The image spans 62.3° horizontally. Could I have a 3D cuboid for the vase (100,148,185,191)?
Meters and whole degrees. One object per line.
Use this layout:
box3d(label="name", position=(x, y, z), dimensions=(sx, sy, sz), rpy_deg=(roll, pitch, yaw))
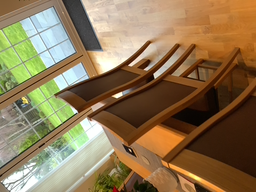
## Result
box3d(label="vase", position=(0.110, 0.690, 1.460), dimensions=(0.320, 0.460, 0.330), rpy_deg=(21, 141, 47))

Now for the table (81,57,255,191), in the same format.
box3d(label="table", position=(0.560, 0.340, 1.670), dimensions=(1.840, 0.770, 0.930), rpy_deg=(17, 138, 50))
